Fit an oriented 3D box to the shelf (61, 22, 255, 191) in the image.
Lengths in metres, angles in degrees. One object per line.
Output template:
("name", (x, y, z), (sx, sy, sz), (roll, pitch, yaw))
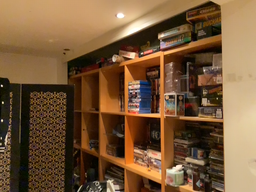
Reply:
("shelf", (-0.010, 0.690, 2.220), (0.520, 2.080, 2.440), (1, -3, -37))
